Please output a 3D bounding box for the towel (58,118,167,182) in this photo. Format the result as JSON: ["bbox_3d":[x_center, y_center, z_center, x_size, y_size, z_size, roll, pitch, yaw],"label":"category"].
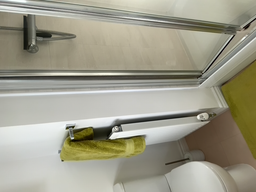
[{"bbox_3d":[-0.120,0.340,1.330,0.410,0.560,0.190,123,137,-52],"label":"towel"}]

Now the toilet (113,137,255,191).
[{"bbox_3d":[0.400,0.610,1.320,0.650,0.760,0.400,124,136,-52],"label":"toilet"}]
